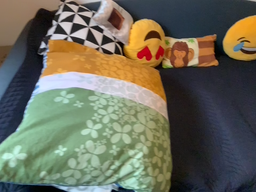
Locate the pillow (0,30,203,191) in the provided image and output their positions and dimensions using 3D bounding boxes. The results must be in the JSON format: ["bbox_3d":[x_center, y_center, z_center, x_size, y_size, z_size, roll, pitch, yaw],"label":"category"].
[{"bbox_3d":[-0.100,0.040,0.820,0.540,0.310,0.640,0,44,0],"label":"pillow"}]

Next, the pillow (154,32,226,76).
[{"bbox_3d":[0.380,-0.270,1.360,0.380,0.210,0.150,-3,44,-4],"label":"pillow"}]

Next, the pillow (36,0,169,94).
[{"bbox_3d":[-0.120,-0.290,1.210,0.590,0.430,0.320,-2,44,-3],"label":"pillow"}]
